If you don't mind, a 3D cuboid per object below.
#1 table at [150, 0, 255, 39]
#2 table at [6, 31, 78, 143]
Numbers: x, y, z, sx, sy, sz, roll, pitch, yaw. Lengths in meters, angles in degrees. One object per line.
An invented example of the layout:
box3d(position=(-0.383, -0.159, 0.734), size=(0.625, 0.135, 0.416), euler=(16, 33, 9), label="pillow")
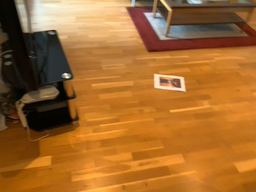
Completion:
box3d(position=(0.970, -1.140, 2.890), size=(1.160, 0.430, 0.570), euler=(-5, 47, -12), label="table")
box3d(position=(-0.670, -0.100, 1.670), size=(0.370, 0.460, 0.720), euler=(-12, 48, -17), label="table")
